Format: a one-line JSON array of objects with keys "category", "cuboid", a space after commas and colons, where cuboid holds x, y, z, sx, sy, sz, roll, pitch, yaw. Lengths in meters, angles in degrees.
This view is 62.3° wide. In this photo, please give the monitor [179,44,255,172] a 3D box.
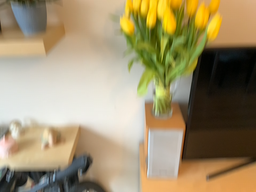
[{"category": "monitor", "cuboid": [0.760, 0.080, 0.940, 1.000, 0.620, 0.060, -2, 29, -1]}]
